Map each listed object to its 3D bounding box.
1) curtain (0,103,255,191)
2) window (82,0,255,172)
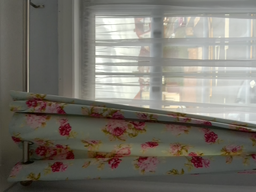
[{"bbox_3d":[0.440,0.250,0.850,0.290,2.260,0.390,-41,-48,-84],"label":"curtain"},{"bbox_3d":[0.480,-0.370,1.130,0.040,1.470,1.560,-41,-48,-84],"label":"window"}]
